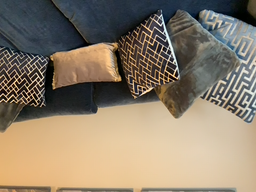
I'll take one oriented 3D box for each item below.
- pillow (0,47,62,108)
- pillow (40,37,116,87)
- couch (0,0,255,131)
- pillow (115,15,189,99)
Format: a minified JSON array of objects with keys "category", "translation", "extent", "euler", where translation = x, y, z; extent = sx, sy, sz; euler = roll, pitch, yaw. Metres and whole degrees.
[{"category":"pillow","translation":[-0.760,-0.140,1.540],"extent":[0.460,0.310,0.200],"euler":[16,120,-15]},{"category":"pillow","translation":[-0.340,-0.230,1.500],"extent":[0.460,0.220,0.200],"euler":[-6,153,14]},{"category":"couch","translation":[-0.360,-0.350,1.430],"extent":[2.620,0.760,1.140],"euler":[-6,153,14]},{"category":"pillow","translation":[0.110,-0.230,1.220],"extent":[0.350,0.360,0.150],"euler":[-31,126,21]}]
